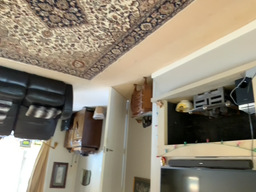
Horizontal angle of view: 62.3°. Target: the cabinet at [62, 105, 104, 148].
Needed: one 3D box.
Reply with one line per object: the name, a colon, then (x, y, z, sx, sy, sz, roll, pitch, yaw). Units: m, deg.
cabinet: (-1.260, 0.890, 5.820, 0.550, 0.950, 1.430, 14, 159, -29)
